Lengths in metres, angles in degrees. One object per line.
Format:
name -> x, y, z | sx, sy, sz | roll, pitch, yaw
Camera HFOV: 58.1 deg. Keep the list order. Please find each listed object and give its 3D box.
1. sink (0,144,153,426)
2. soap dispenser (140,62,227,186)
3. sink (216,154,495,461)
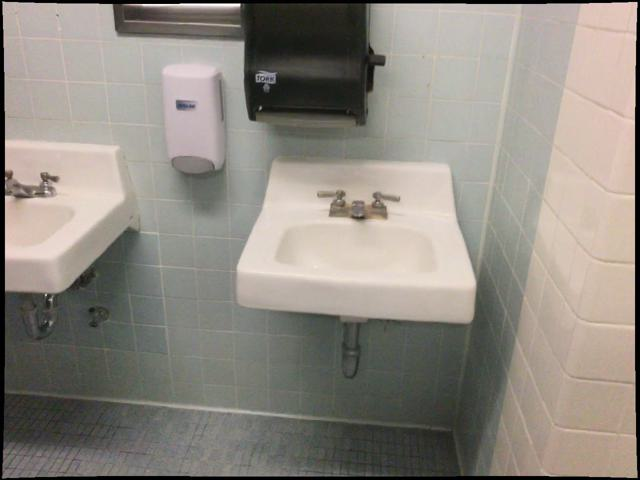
sink -> -0.868, 0.090, 1.570 | 0.618, 0.581, 0.480 | 3, 25, 3
soap dispenser -> -0.359, -0.311, 1.550 | 0.180, 0.301, 0.110 | 3, 25, 3
sink -> 0.080, 0.150, 1.520 | 0.569, 0.611, 0.480 | 3, 25, 3
